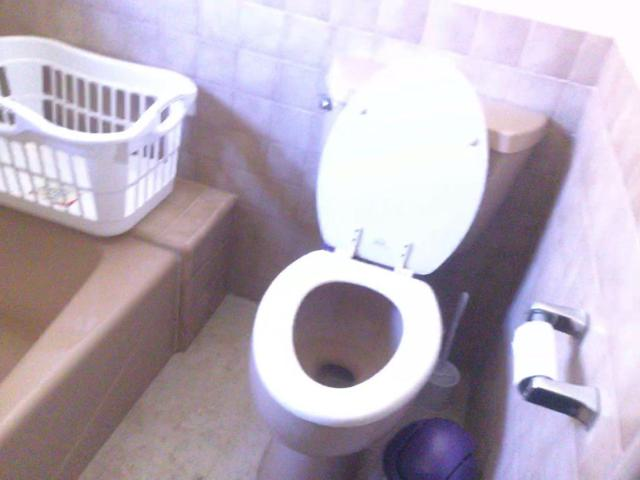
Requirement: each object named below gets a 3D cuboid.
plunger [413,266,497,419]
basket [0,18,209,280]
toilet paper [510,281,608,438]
[{"bbox_3d":[0.350,0.270,1.510,0.120,0.350,0.170,15,34,10],"label":"plunger"},{"bbox_3d":[-0.720,-0.270,1.430,0.760,0.380,0.430,15,34,10],"label":"basket"},{"bbox_3d":[0.310,0.150,0.770,0.090,0.070,0.200,15,34,10],"label":"toilet paper"}]
